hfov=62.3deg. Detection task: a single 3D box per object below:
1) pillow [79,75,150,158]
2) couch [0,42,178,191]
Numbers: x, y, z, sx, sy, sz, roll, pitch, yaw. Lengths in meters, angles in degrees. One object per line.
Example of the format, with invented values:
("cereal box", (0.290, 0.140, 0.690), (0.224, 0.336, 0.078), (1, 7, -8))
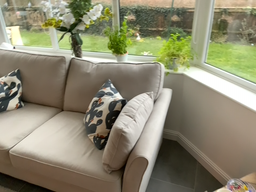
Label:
("pillow", (-0.120, 0.150, 1.620), (0.420, 0.240, 0.460), (35, 20, -34))
("couch", (-0.680, 0.150, 1.970), (2.030, 0.900, 1.110), (9, 30, 17))
